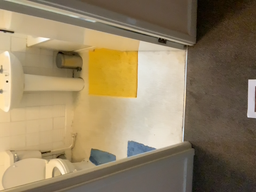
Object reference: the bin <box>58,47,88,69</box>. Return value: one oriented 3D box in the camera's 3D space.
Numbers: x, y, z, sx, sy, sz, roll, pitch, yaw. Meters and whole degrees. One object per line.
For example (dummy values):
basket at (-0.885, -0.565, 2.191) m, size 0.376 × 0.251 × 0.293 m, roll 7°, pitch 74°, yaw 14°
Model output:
bin at (-0.650, -0.440, 2.510) m, size 0.240 × 0.260 × 0.210 m, roll 5°, pitch 95°, yaw 48°

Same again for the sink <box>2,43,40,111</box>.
sink at (-1.040, -0.180, 2.050) m, size 0.430 × 0.220 × 0.580 m, roll 6°, pitch 96°, yaw 48°

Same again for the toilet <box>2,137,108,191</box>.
toilet at (-0.750, 0.780, 2.180) m, size 0.710 × 0.820 × 0.460 m, roll 5°, pitch 95°, yaw 48°
